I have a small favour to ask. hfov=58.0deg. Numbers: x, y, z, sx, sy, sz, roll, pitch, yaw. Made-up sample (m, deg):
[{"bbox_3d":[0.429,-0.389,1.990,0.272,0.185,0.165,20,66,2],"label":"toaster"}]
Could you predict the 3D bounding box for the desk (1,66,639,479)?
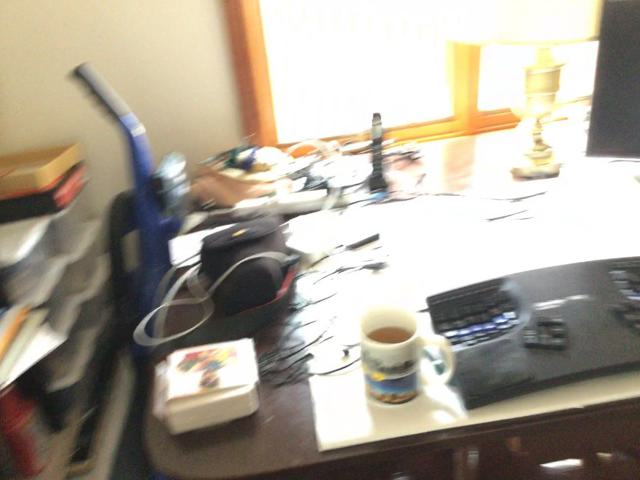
[{"bbox_3d":[0.490,0.210,1.320,1.670,0.970,1.060,-7,22,-3],"label":"desk"}]
